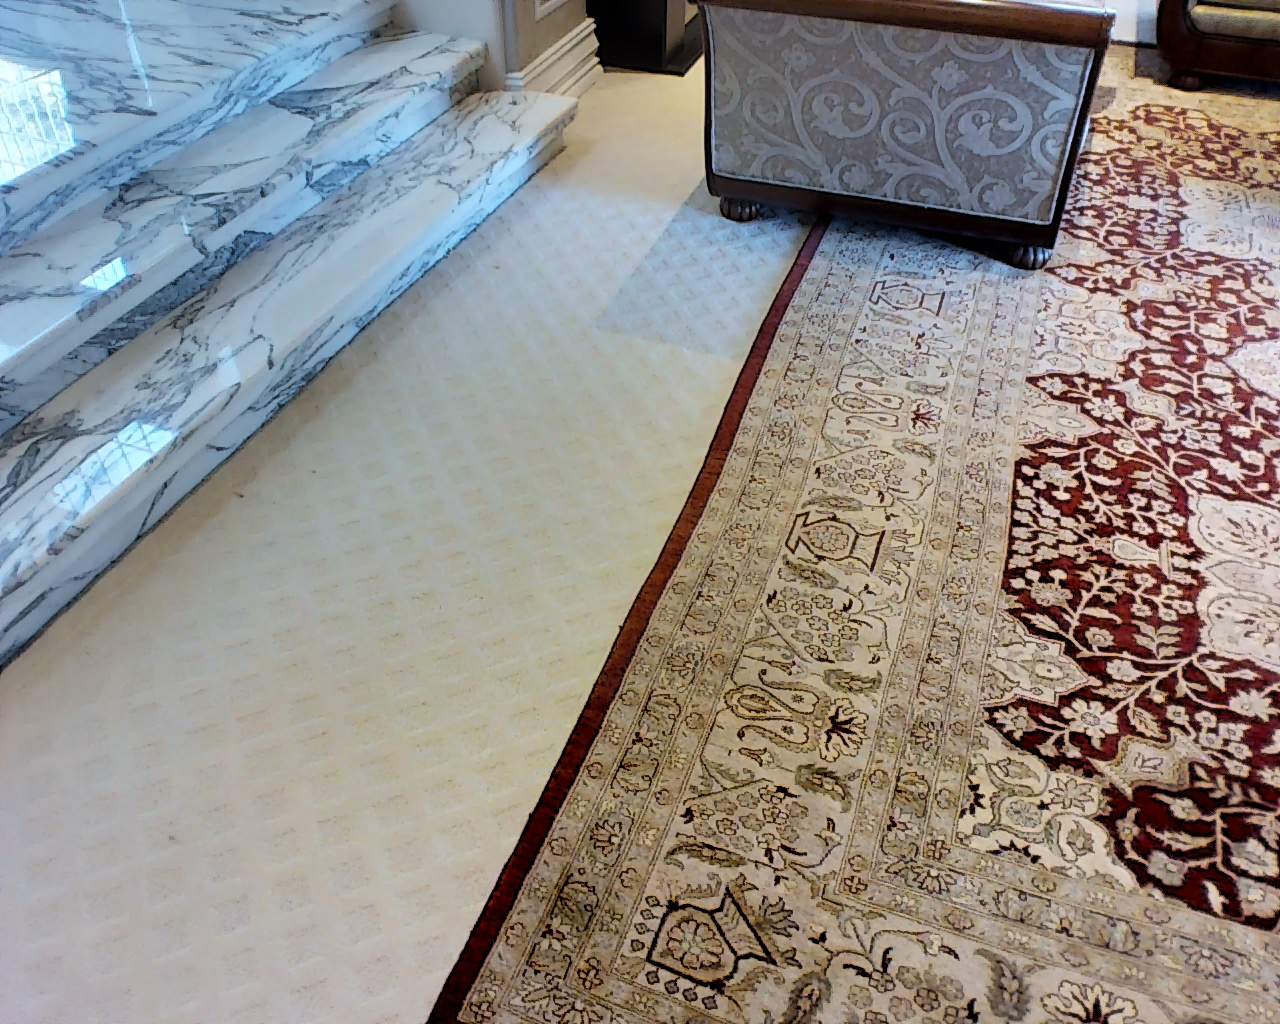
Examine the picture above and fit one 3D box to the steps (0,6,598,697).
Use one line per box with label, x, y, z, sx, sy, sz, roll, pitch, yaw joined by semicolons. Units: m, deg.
steps;-0.850;-0.630;2.560;0.510;0.350;2.560;15;44;16
